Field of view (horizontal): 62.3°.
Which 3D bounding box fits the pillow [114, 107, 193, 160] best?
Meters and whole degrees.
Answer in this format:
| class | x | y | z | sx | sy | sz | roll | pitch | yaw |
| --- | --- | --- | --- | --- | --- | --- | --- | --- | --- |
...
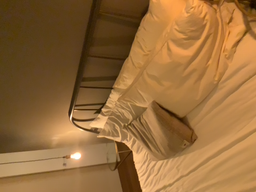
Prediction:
| class | x | y | z | sx | sy | sz | roll | pitch | yaw |
| --- | --- | --- | --- | --- | --- | --- | --- | --- | --- |
| pillow | 0.180 | 0.260 | 1.370 | 0.440 | 0.330 | 0.110 | -18 | 56 | 8 |
